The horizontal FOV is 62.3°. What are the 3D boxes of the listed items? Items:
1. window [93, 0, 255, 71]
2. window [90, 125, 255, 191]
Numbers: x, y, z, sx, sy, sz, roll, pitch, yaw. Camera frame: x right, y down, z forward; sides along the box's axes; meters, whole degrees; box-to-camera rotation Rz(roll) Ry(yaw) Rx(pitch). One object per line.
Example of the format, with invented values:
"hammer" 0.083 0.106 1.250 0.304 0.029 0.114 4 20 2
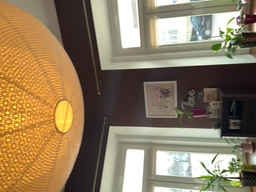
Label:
"window" 0.660 -1.160 3.090 0.380 2.250 1.460 -59 -34 -65
"window" 0.730 1.260 3.070 0.570 2.380 1.570 74 -160 -47
